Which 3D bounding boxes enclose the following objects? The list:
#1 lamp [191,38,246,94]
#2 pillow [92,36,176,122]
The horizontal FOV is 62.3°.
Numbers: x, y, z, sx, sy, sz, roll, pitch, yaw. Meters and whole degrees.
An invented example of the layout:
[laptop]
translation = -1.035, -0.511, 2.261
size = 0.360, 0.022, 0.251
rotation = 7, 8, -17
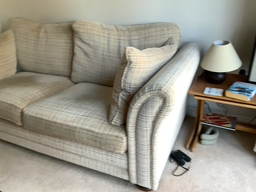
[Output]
[lamp]
translation = 0.630, -0.230, 1.470
size = 0.280, 0.260, 0.360
rotation = 11, 30, 26
[pillow]
translation = 0.080, -0.130, 1.390
size = 0.150, 0.440, 0.600
rotation = -13, 2, 36
